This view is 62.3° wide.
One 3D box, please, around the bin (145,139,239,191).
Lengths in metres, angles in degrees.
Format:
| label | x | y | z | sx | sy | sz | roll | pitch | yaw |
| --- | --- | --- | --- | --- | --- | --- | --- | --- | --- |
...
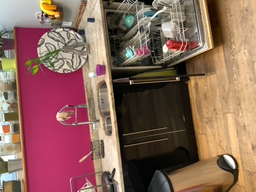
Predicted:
| label | x | y | z | sx | sy | sz | roll | pitch | yaw |
| --- | --- | --- | --- | --- | --- | --- | --- | --- | --- |
| bin | 0.520 | 0.680 | 1.810 | 0.260 | 0.620 | 0.480 | -122 | 35 | -48 |
